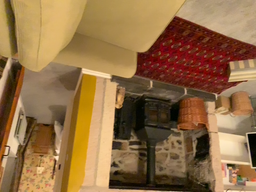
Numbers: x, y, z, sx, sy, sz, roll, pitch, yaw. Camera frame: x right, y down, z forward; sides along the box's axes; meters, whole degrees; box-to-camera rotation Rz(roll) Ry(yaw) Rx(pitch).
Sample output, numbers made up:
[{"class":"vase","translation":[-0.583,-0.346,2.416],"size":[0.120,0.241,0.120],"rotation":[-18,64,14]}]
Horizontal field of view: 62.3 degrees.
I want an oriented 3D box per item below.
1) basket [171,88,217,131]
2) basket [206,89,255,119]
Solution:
[{"class":"basket","translation":[0.990,0.220,3.260],"size":[0.460,0.490,0.450],"rotation":[10,157,-20]},{"class":"basket","translation":[1.680,0.150,3.480],"size":[0.500,0.260,0.540],"rotation":[11,157,-21]}]
